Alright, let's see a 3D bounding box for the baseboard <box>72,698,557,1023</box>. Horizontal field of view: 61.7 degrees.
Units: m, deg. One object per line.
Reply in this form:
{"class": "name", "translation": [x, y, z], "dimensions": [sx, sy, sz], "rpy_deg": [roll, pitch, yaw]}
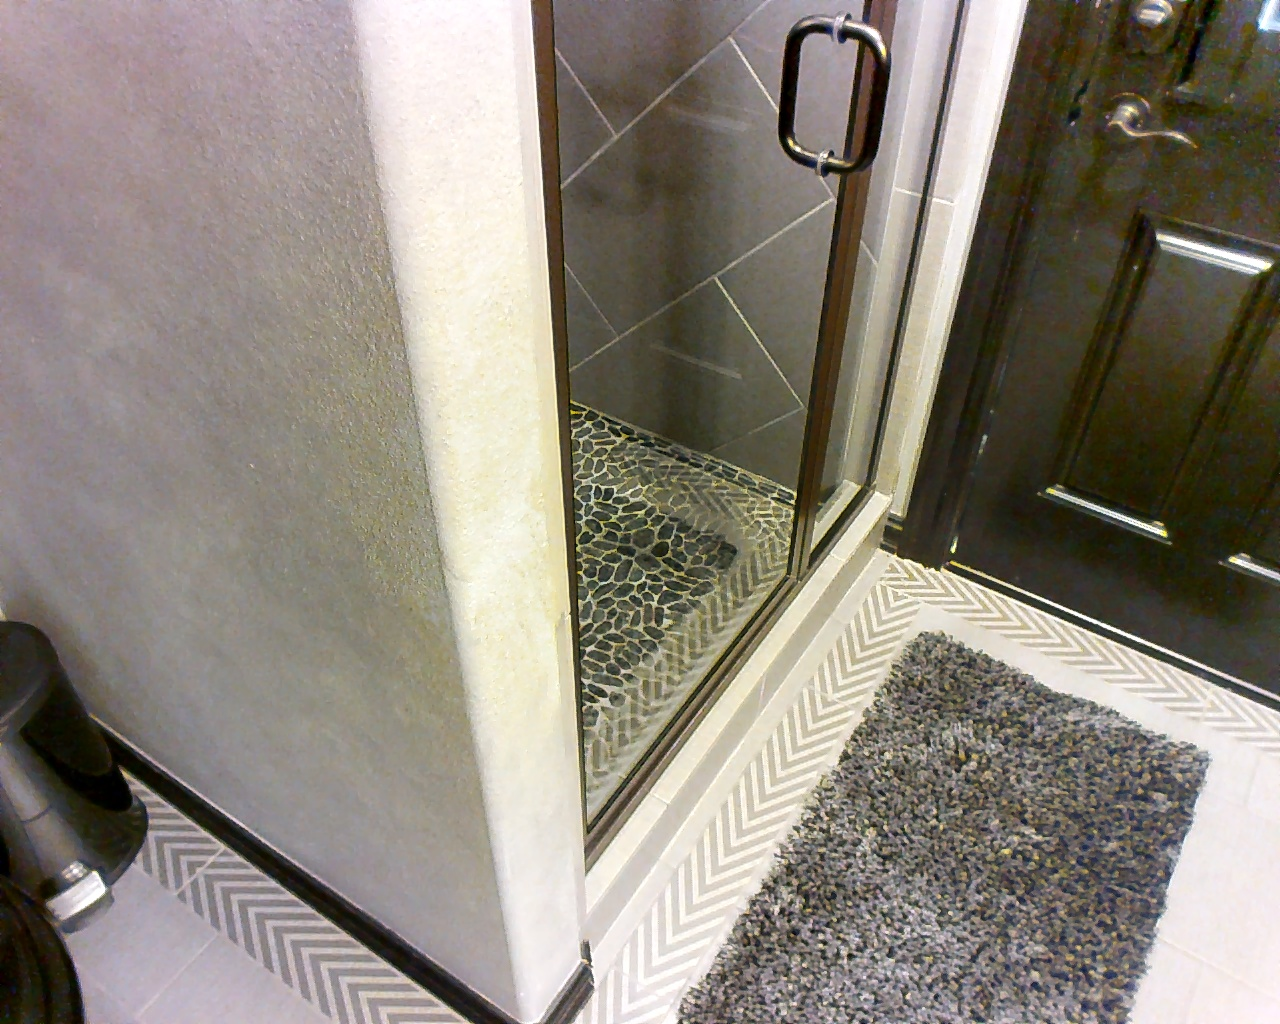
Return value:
{"class": "baseboard", "translation": [-0.500, 0.520, 1.560], "dimensions": [0.900, 0.120, 0.050], "rpy_deg": [23, 47, 24]}
